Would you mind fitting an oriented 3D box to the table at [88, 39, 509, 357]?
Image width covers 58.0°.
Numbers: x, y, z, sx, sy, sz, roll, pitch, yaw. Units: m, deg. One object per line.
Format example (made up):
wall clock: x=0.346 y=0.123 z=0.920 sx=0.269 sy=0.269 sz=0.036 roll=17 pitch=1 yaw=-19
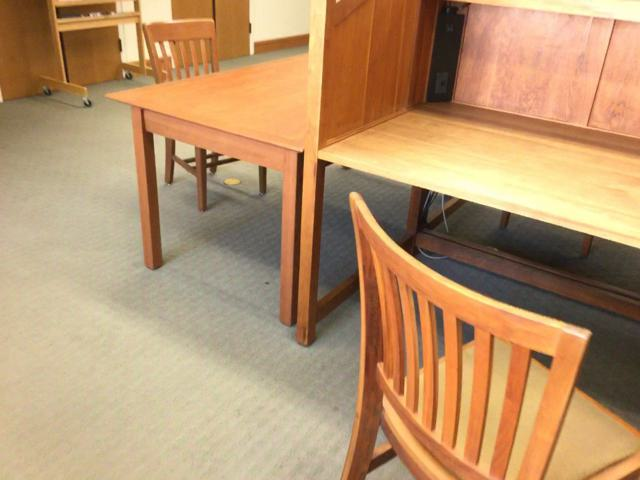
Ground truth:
table: x=0.040 y=-0.410 z=2.790 sx=0.990 sy=0.830 sz=1.830 roll=20 pitch=31 yaw=30
